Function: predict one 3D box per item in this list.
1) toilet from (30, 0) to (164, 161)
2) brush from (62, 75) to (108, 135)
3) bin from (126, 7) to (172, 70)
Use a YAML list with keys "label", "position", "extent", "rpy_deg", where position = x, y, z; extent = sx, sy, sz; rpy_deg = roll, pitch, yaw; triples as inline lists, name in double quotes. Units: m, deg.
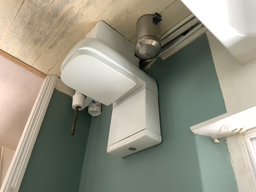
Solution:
- label: "toilet"
  position: [-0.150, -0.090, 1.430]
  extent: [0.600, 0.800, 0.450]
  rpy_deg: [30, 135, -31]
- label: "brush"
  position: [-0.370, 0.080, 1.890]
  extent: [0.260, 0.430, 0.210]
  rpy_deg: [29, 136, -30]
- label: "bin"
  position: [0.130, -0.370, 1.380]
  extent: [0.170, 0.270, 0.240]
  rpy_deg: [21, 139, -22]
